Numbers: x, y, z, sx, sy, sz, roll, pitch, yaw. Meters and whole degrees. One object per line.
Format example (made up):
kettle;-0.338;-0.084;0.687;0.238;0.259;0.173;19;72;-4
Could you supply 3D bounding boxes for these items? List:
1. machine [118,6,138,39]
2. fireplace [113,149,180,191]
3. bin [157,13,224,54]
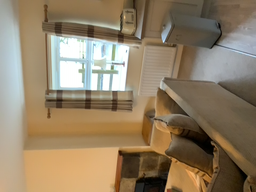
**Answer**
machine;-0.010;-1.020;2.920;0.270;0.180;0.390;-117;32;-63
fireplace;0.220;1.750;3.690;0.490;0.900;1.600;-119;33;-64
bin;0.730;-0.730;2.540;0.340;0.650;0.240;113;155;-57
